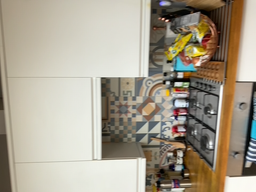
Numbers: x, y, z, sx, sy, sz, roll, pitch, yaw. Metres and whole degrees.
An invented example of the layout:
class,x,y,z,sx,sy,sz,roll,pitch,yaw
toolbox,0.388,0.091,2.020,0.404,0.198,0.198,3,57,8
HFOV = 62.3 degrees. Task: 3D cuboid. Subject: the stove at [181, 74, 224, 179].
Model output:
class,x,y,z,sx,sy,sz,roll,pitch,yaw
stove,0.510,0.170,1.540,0.550,0.020,0.610,-117,28,-78
